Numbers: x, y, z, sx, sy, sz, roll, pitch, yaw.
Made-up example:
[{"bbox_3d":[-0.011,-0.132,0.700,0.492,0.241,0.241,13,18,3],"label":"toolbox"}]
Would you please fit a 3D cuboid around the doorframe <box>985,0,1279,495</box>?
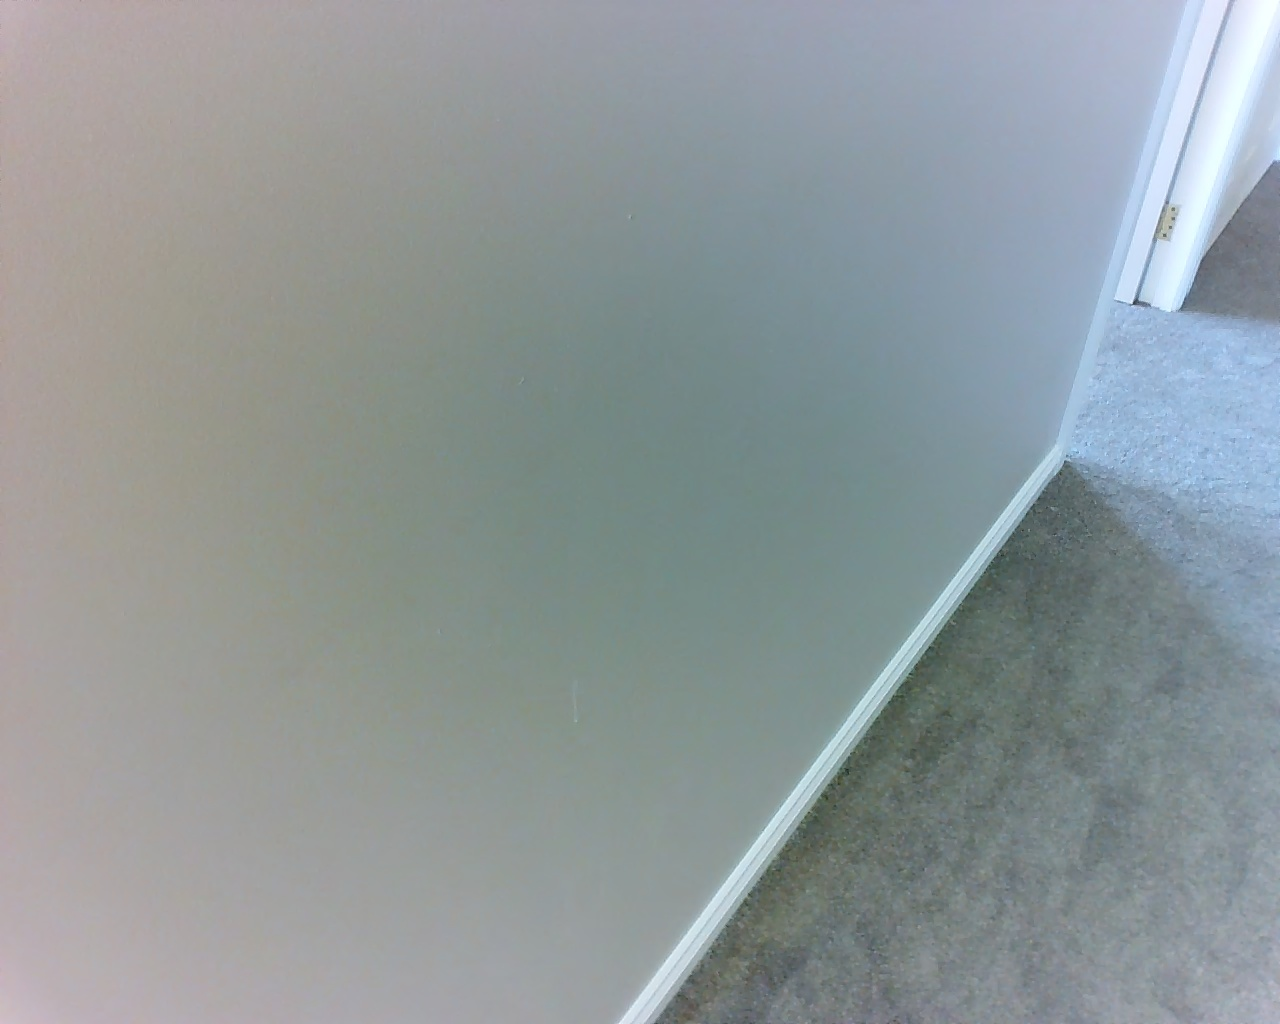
[{"bbox_3d":[1.180,-1.170,2.070,0.190,2.110,1.110,25,47,27],"label":"doorframe"}]
